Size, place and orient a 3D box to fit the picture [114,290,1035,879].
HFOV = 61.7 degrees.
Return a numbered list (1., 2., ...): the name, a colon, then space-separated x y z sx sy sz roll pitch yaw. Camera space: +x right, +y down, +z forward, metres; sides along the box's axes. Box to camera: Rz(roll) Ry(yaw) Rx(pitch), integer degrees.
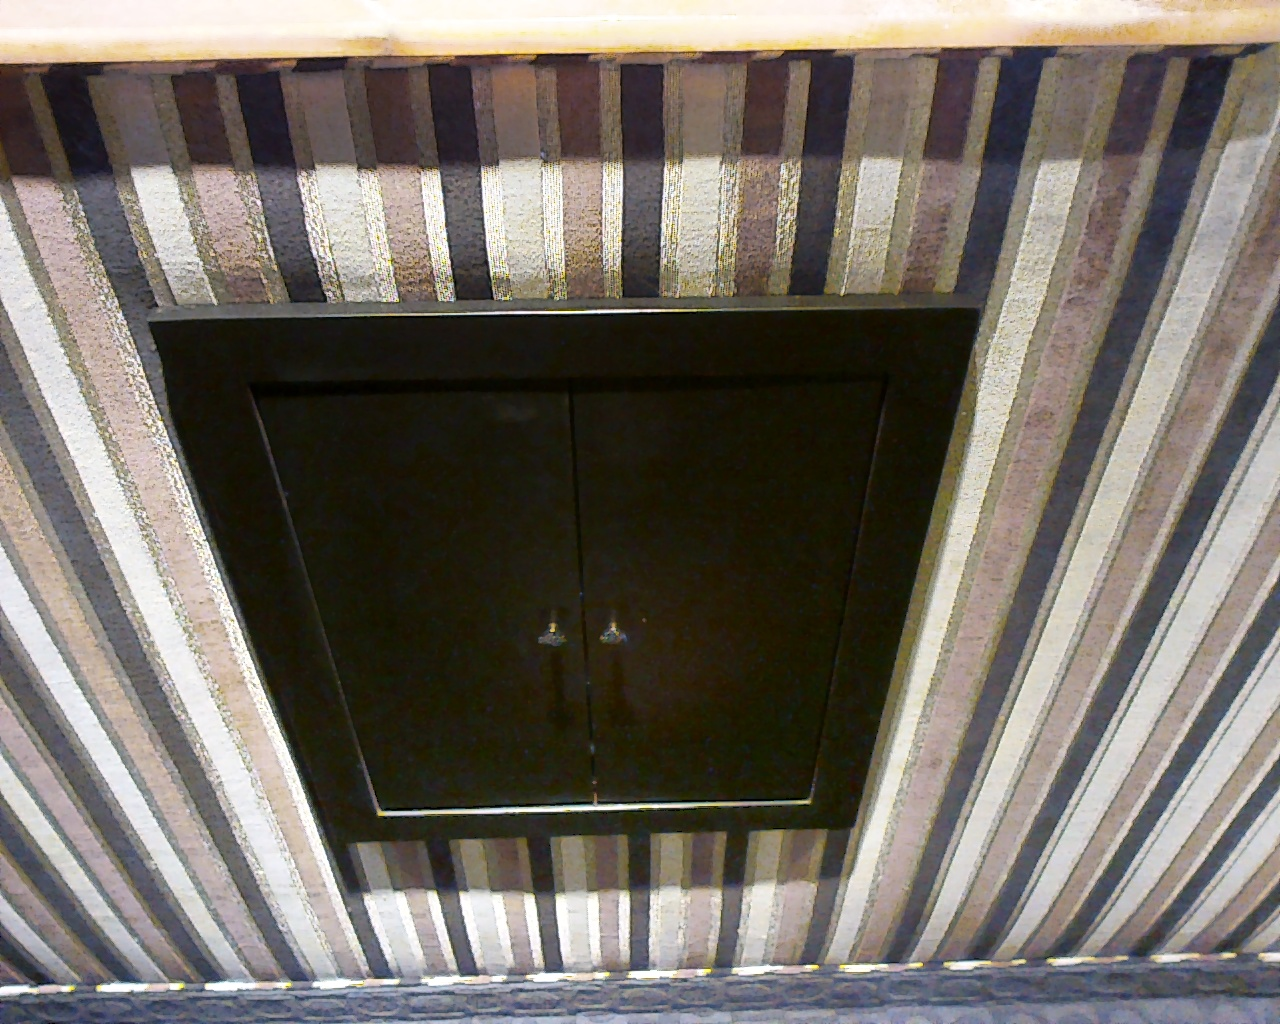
1. picture: -0.040 0.130 0.990 0.630 0.730 0.030 -2 42 -1
